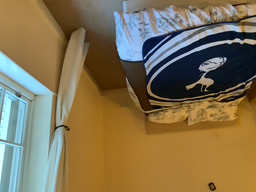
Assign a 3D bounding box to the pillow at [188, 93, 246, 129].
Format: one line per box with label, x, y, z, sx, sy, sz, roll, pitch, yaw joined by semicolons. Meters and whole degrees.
pillow;1.260;0.220;3.070;0.730;0.460;0.140;-7;-144;5
